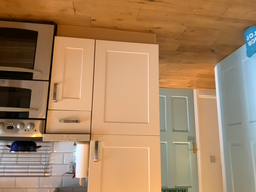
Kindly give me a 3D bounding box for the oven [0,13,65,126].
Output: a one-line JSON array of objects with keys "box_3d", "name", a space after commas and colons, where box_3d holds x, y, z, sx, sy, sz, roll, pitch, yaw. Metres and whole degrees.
[{"box_3d": [-0.890, -0.160, 1.740, 0.590, 0.760, 0.600, 2, 168, -9], "name": "oven"}]
